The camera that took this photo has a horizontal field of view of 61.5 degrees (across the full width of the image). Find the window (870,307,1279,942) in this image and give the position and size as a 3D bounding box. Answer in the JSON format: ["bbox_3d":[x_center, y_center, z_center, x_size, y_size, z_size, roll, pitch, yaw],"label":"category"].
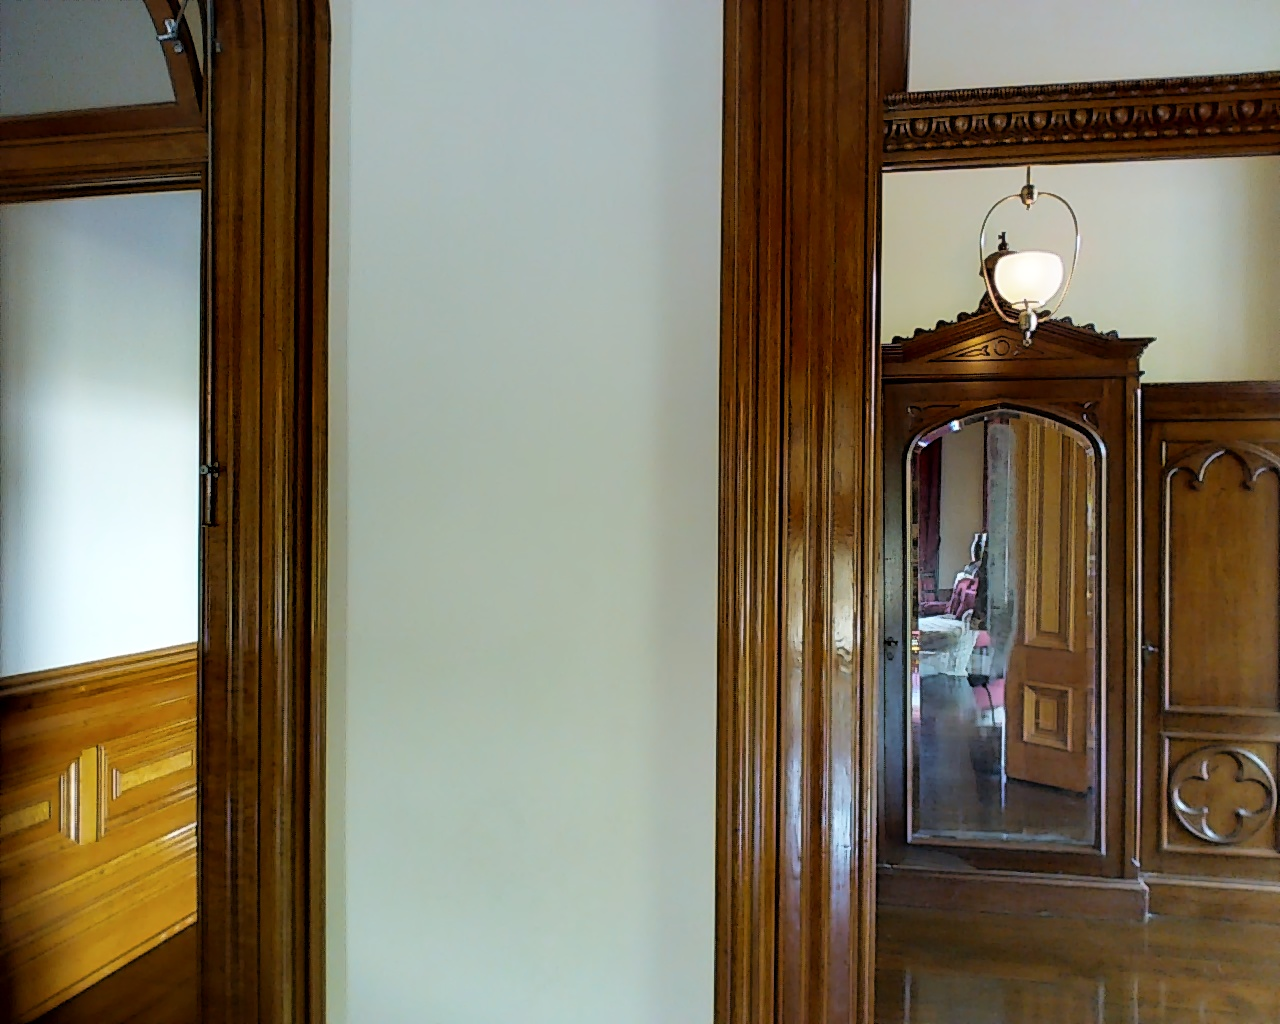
[{"bbox_3d":[1.870,0.400,4.330,1.840,2.250,0.850,0,0,12],"label":"window"}]

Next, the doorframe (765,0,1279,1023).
[{"bbox_3d":[0.970,-0.110,2.080,1.410,3.270,0.420,0,0,13],"label":"doorframe"}]
